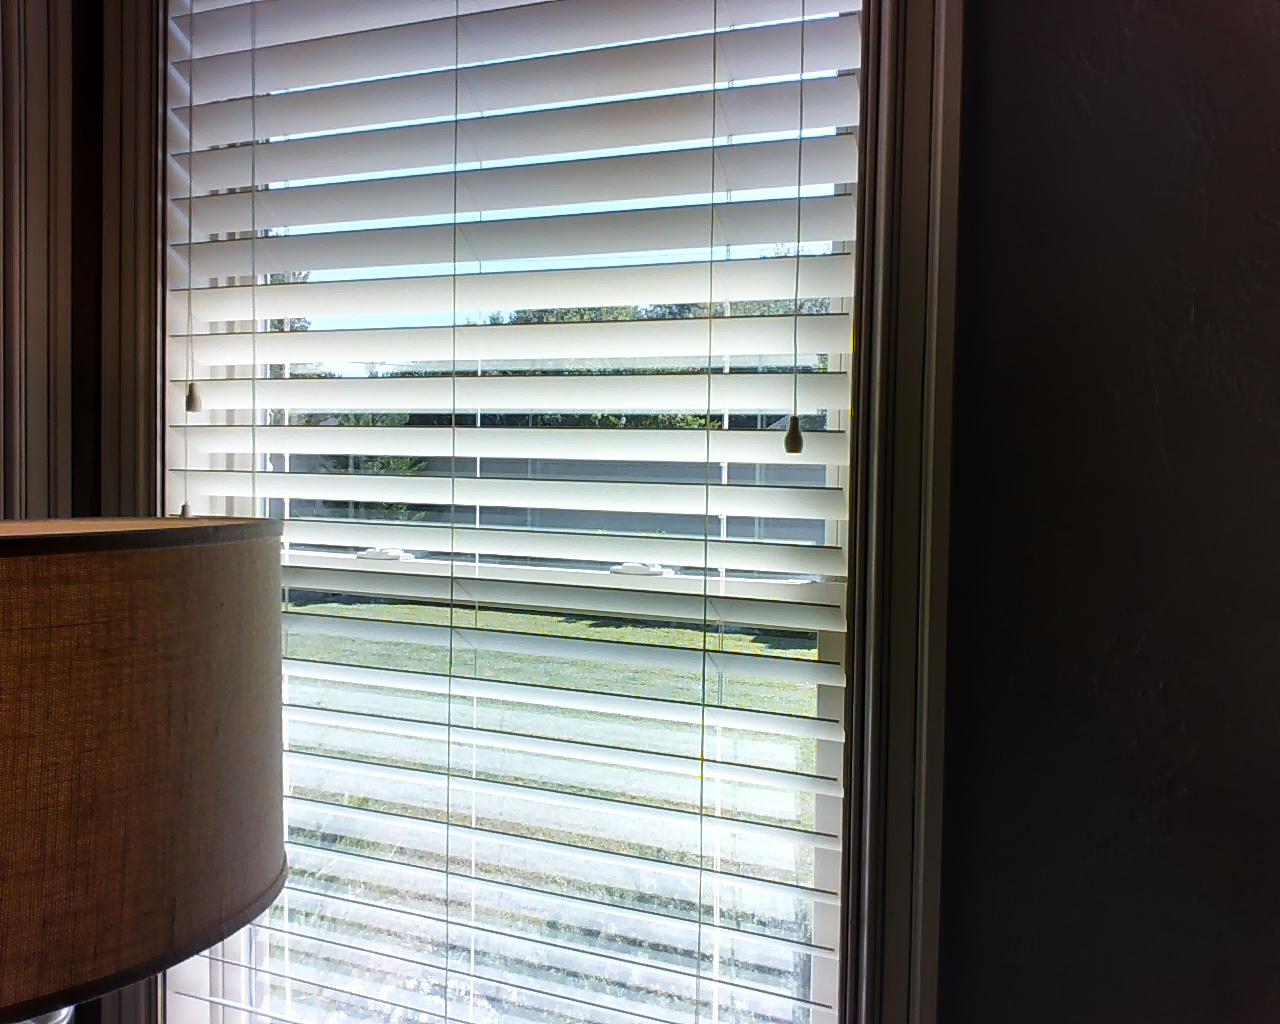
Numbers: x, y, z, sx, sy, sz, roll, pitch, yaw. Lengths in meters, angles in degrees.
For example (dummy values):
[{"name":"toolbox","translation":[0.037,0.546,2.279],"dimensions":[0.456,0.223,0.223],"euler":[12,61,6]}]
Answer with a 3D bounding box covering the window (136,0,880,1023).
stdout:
[{"name":"window","translation":[-0.200,-0.030,1.210],"dimensions":[0.890,1.750,0.080],"euler":[2,2,22]}]
